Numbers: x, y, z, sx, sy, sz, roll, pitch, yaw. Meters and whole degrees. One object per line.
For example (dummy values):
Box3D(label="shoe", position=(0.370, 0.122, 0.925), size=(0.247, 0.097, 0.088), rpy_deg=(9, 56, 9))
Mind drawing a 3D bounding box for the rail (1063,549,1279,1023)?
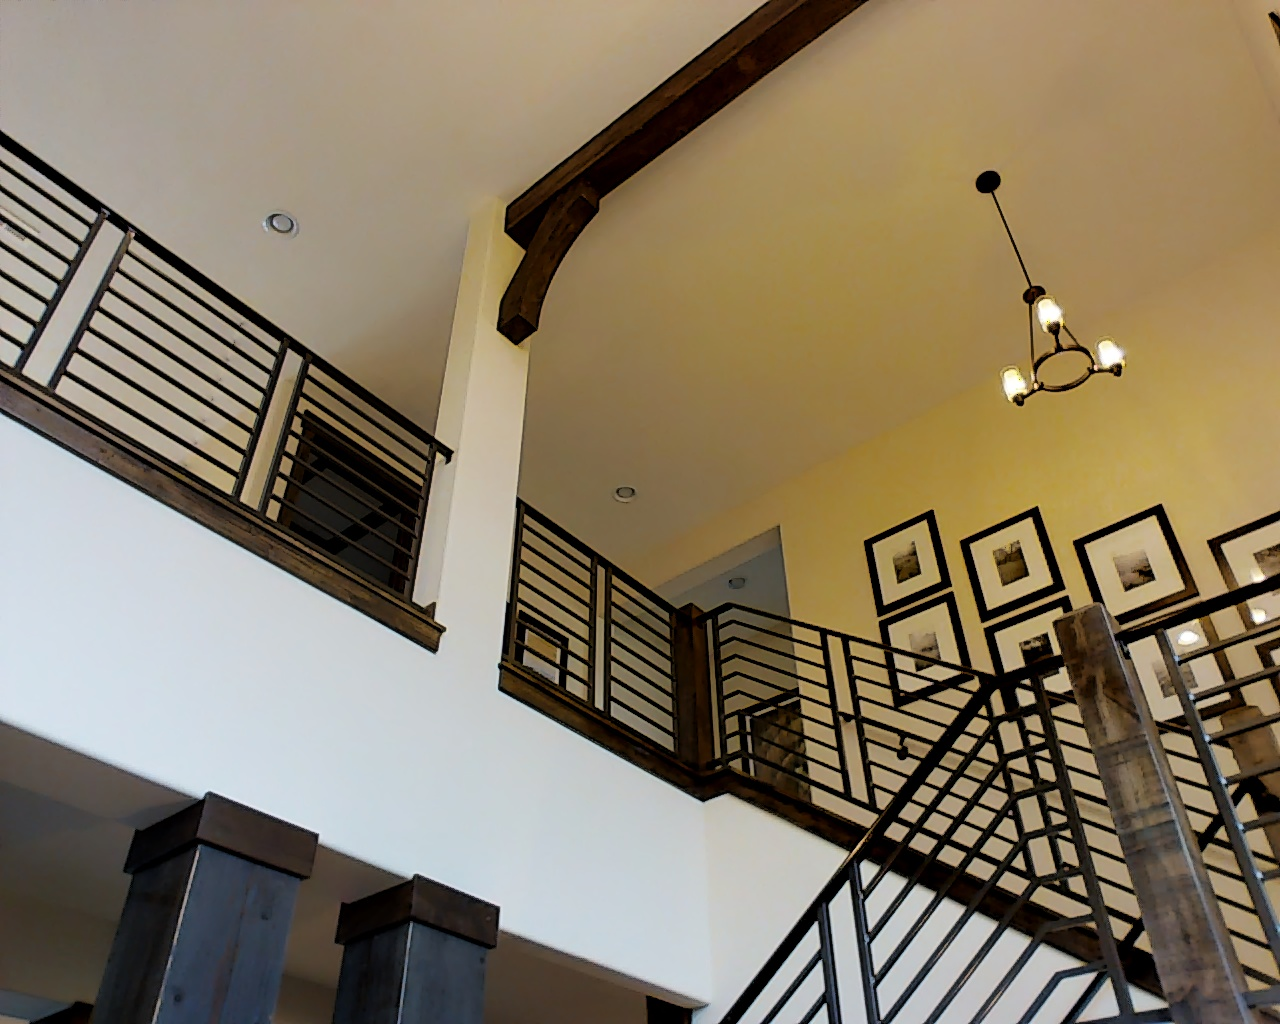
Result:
Box3D(label="rail", position=(1.540, 0.410, 1.960), size=(1.280, 0.960, 0.120), rpy_deg=(-28, -48, 28))

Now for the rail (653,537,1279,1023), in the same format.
Box3D(label="rail", position=(1.070, 1.620, 3.600), size=(2.360, 2.560, 0.280), rpy_deg=(-28, -48, 28))
